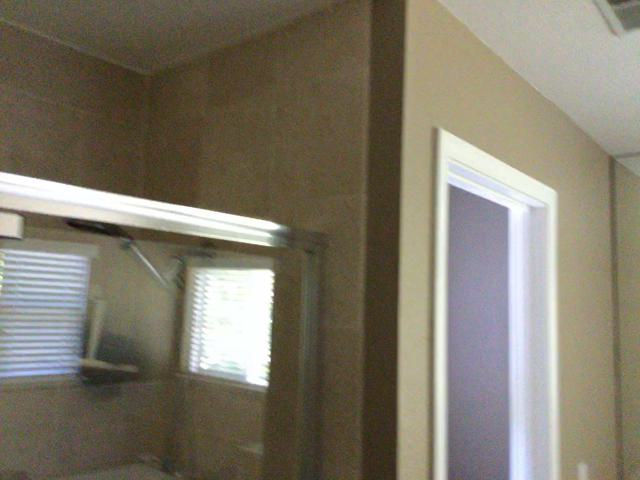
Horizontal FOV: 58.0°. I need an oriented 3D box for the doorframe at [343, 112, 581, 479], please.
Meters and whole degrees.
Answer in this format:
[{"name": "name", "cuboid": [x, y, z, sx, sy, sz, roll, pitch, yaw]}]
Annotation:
[{"name": "doorframe", "cuboid": [0.440, 0.770, 1.620, 0.270, 2.040, 0.850, -6, -12, 43]}]
